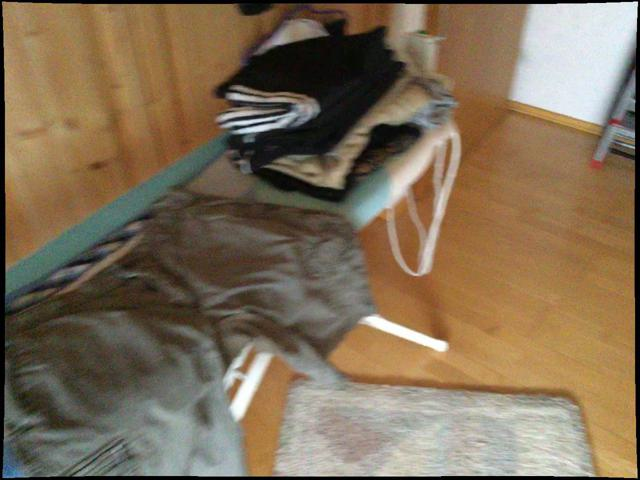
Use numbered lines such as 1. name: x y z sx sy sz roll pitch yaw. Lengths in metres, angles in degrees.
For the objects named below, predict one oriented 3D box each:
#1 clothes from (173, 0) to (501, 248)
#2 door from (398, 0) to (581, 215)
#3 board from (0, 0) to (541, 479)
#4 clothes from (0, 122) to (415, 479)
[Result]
1. clothes: 0.050 -0.290 1.170 0.390 0.240 0.510 27 49 29
2. door: 0.699 -1.181 1.940 0.250 2.041 1.010 27 49 29
3. board: -0.150 0.200 1.280 0.500 0.911 1.450 27 50 29
4. clothes: -0.280 0.150 0.990 0.600 0.280 0.660 27 49 29
